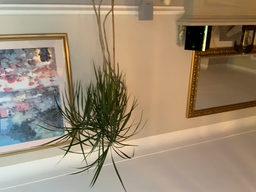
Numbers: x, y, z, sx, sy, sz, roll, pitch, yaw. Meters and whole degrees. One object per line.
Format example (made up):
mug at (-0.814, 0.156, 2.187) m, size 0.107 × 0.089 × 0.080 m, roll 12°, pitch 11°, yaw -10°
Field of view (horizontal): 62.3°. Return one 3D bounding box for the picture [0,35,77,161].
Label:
picture at (-0.860, 0.040, 1.720) m, size 0.770 × 1.000 × 0.060 m, roll -8°, pitch -158°, yaw -19°
